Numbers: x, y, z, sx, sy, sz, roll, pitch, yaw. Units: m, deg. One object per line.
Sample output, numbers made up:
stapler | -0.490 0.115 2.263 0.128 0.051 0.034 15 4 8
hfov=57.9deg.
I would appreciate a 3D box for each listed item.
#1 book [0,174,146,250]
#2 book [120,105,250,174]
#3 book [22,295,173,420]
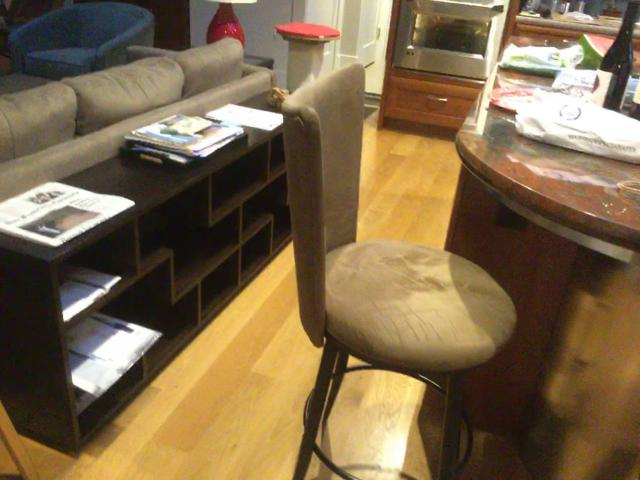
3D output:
book | -0.630 -0.080 1.440 0.250 0.030 0.290 14 30 18
book | -0.430 -0.340 1.900 0.260 0.090 0.350 14 30 18
book | -0.580 0.300 1.550 0.210 0.110 0.320 14 30 18
